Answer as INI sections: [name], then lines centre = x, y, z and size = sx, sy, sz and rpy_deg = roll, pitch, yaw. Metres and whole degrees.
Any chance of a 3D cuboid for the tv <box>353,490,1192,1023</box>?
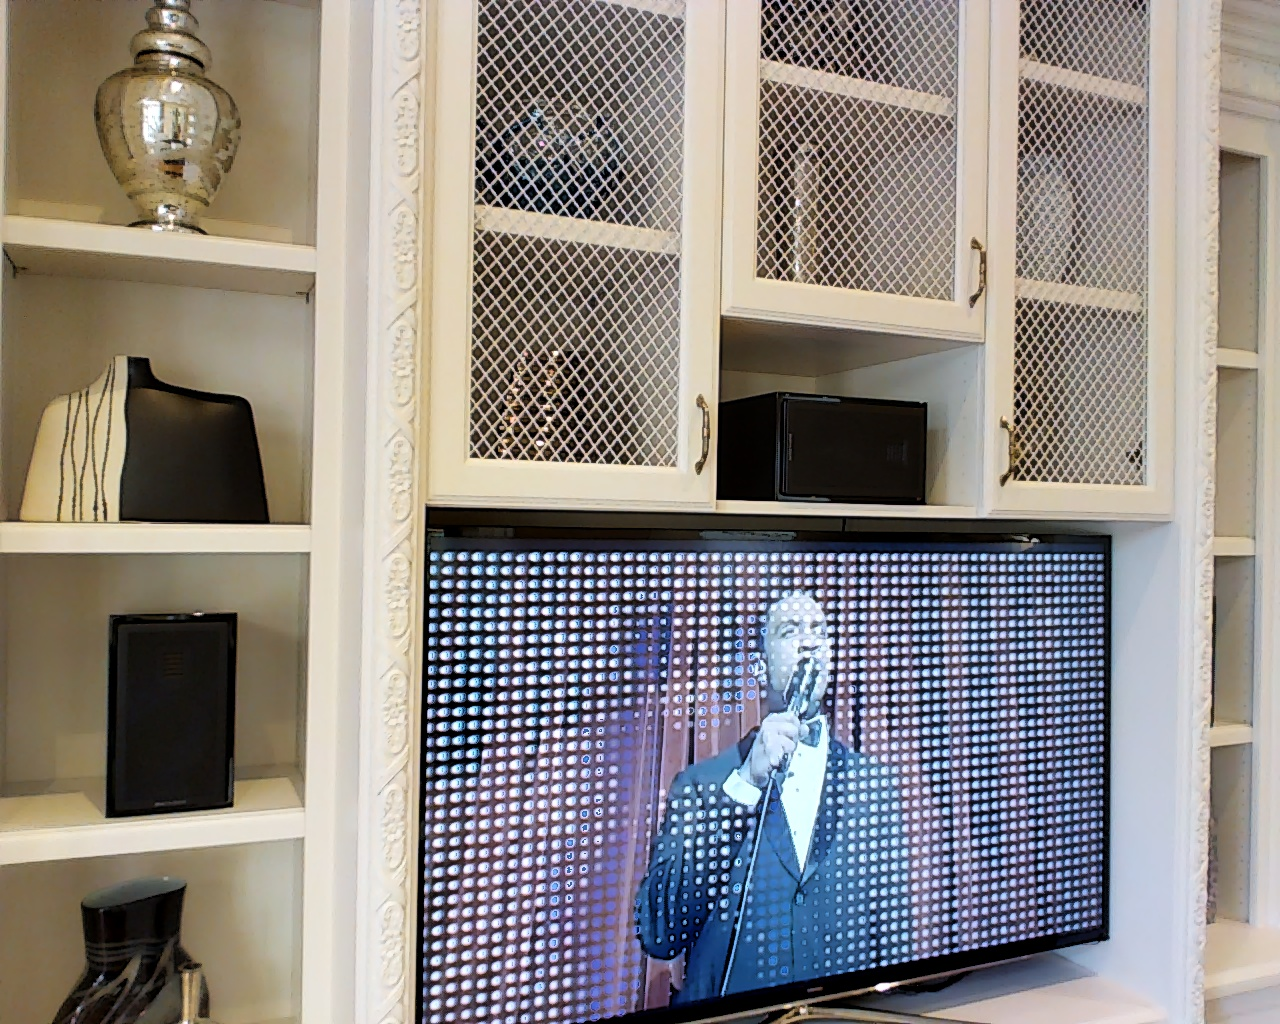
[tv]
centre = 0.300, 0.450, 1.810
size = 1.490, 0.930, 0.200
rpy_deg = 1, 0, -23
